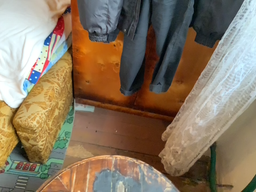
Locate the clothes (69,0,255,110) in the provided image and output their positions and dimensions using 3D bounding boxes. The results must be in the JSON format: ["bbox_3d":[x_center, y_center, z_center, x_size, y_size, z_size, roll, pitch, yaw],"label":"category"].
[{"bbox_3d":[0.130,-0.400,0.770,0.620,1.000,0.250,11,49,-4],"label":"clothes"}]
